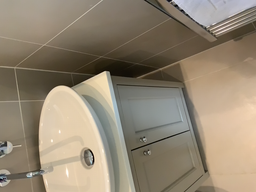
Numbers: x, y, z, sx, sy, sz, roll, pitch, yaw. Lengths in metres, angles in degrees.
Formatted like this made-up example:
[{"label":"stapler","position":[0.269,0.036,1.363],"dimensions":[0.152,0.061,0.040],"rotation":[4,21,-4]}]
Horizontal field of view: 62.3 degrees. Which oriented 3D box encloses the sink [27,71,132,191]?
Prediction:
[{"label":"sink","position":[-0.200,0.230,0.810],"dimensions":[0.380,0.100,0.540],"rotation":[-21,79,35]}]
